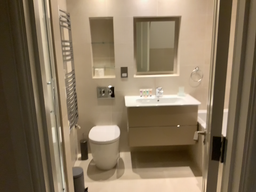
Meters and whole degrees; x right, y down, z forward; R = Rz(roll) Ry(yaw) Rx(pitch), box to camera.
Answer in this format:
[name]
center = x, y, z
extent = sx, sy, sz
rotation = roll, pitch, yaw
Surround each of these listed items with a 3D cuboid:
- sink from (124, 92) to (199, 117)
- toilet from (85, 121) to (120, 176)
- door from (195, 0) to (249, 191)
[sink]
center = 0.370, 0.090, 2.570
extent = 0.810, 0.160, 0.450
rotation = -2, 14, -3
[toilet]
center = -0.290, 0.620, 2.620
extent = 0.370, 0.450, 0.540
rotation = -2, 14, -3
[door]
center = 0.420, 0.220, 1.090
extent = 0.060, 2.080, 0.750
rotation = 3, 14, 15
